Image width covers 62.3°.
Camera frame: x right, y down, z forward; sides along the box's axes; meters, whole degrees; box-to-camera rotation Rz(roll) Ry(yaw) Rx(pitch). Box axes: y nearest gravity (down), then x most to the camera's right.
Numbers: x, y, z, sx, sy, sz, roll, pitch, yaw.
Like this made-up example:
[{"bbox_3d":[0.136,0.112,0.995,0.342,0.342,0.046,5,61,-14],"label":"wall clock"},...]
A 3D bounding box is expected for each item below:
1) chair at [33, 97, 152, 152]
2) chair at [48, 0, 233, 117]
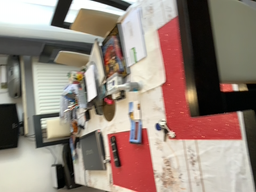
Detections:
[{"bbox_3d":[-0.350,0.270,2.160,0.470,1.070,0.390,-20,75,58],"label":"chair"},{"bbox_3d":[0.110,-0.210,1.350,0.390,1.070,0.540,-24,72,57],"label":"chair"}]
